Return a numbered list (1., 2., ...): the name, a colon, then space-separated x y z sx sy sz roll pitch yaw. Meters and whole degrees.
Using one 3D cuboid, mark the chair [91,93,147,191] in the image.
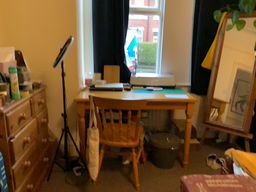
1. chair: -0.090 0.410 2.010 0.450 0.780 0.460 2 13 -1
